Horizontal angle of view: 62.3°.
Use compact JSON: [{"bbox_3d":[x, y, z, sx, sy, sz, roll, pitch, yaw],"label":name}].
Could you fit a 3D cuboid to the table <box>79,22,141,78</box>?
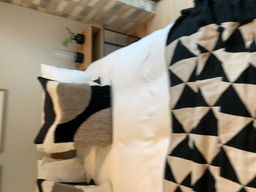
[{"bbox_3d":[-0.190,-0.460,2.290,0.280,0.600,0.430,-11,77,55],"label":"table"}]
